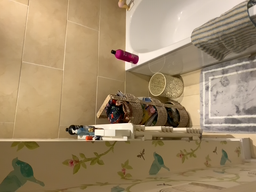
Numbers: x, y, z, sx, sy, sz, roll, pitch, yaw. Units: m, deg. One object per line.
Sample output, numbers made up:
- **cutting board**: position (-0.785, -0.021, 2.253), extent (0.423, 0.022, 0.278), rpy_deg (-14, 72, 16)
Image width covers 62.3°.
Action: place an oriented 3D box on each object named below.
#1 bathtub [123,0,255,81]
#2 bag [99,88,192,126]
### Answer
- **bathtub**: position (0.680, -0.700, 1.600), extent (1.650, 0.570, 0.740), rpy_deg (-15, 71, 51)
- **bag**: position (0.180, 0.130, 1.880), extent (0.310, 0.820, 0.240), rpy_deg (-12, 74, 51)
